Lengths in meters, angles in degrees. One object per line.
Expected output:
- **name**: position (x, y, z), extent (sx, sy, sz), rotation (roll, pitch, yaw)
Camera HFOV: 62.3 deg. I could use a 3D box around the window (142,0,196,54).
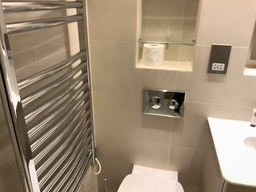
- **window**: position (0.220, -0.570, 1.070), extent (0.260, 0.690, 0.040), rotation (7, 25, 13)
